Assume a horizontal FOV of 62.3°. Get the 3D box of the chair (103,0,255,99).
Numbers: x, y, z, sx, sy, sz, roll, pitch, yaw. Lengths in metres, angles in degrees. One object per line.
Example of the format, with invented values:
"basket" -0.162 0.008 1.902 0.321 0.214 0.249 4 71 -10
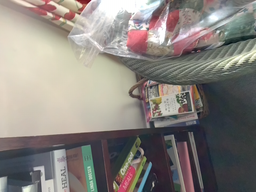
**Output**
"chair" 0.360 -0.300 0.770 0.640 0.620 0.460 -15 77 31
